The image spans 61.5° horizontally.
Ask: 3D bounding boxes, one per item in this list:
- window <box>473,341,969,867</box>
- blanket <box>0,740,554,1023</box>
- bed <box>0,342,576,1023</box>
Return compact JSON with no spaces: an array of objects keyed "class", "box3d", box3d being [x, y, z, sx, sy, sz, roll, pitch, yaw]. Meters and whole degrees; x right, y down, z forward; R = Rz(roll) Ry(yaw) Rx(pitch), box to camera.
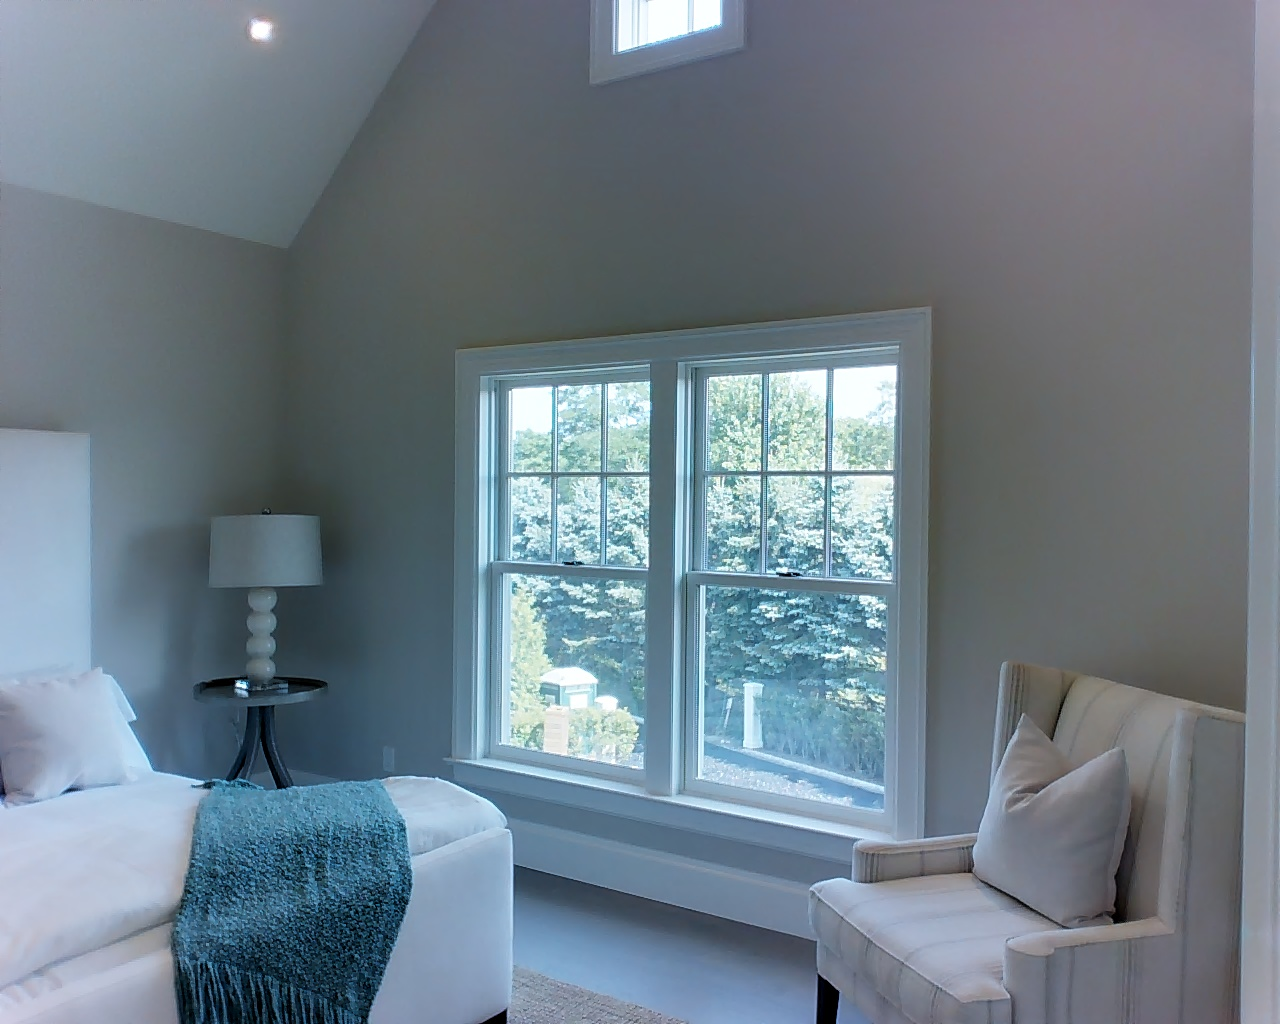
[{"class":"window","box3d":[0.200,0.290,4.170,2.070,1.720,0.200,1,0,34]},{"class":"blanket","box3d":[-1.270,1.170,2.600,0.970,0.720,2.210,1,0,33]},{"class":"bed","box3d":[-1.860,0.600,2.980,2.520,1.810,2.210,1,0,34]}]
